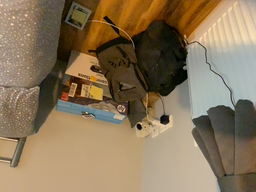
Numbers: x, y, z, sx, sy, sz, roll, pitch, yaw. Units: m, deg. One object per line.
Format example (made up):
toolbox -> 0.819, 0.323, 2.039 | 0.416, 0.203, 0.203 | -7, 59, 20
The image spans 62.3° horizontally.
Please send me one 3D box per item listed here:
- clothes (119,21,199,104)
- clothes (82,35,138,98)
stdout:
clothes -> 0.180, -0.190, 1.390 | 0.320, 0.260, 0.430 | 16, 147, -18
clothes -> -0.100, -0.200, 1.470 | 0.320, 0.300, 0.300 | 2, 149, 5
